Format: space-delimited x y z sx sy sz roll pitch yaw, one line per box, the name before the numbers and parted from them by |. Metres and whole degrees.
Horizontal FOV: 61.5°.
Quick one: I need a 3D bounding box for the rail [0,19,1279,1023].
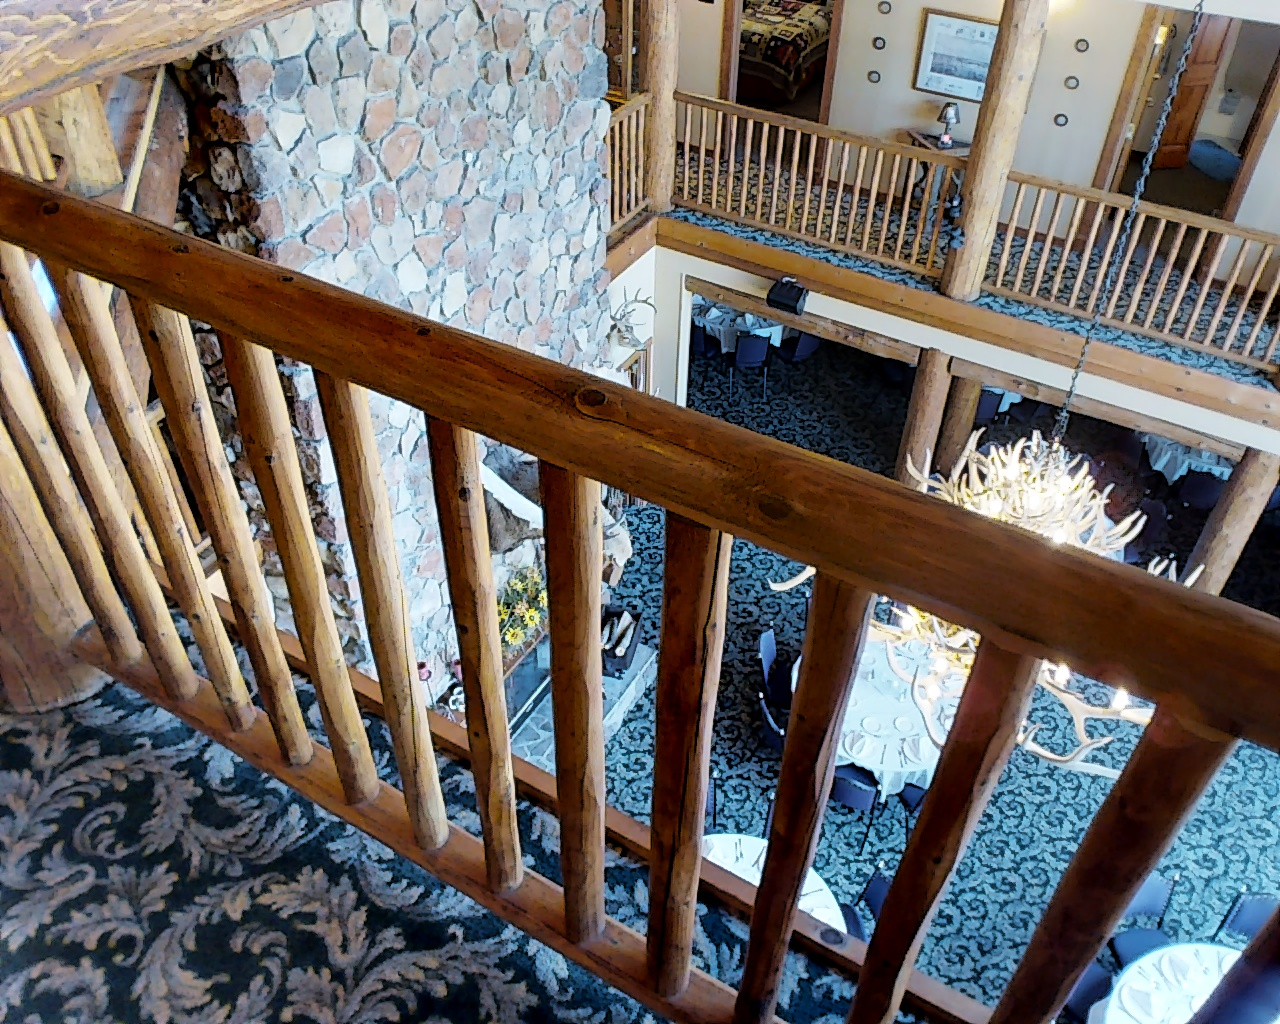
rail | 0.080 0.250 1.270 2.330 1.090 0.340 22 46 21
